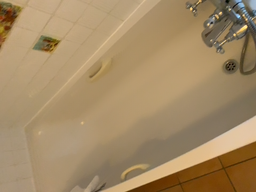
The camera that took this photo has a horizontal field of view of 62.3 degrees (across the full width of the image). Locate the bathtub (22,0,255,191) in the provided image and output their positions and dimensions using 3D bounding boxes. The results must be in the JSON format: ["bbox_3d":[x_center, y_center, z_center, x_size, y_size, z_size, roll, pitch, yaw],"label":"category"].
[{"bbox_3d":[0.060,0.120,1.240,1.680,0.550,0.680,-36,66,33],"label":"bathtub"}]
